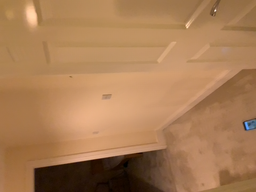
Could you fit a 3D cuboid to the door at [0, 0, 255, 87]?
[{"bbox_3d":[0.220,-0.290,1.000,0.820,2.050,0.080,124,139,-64],"label":"door"}]
